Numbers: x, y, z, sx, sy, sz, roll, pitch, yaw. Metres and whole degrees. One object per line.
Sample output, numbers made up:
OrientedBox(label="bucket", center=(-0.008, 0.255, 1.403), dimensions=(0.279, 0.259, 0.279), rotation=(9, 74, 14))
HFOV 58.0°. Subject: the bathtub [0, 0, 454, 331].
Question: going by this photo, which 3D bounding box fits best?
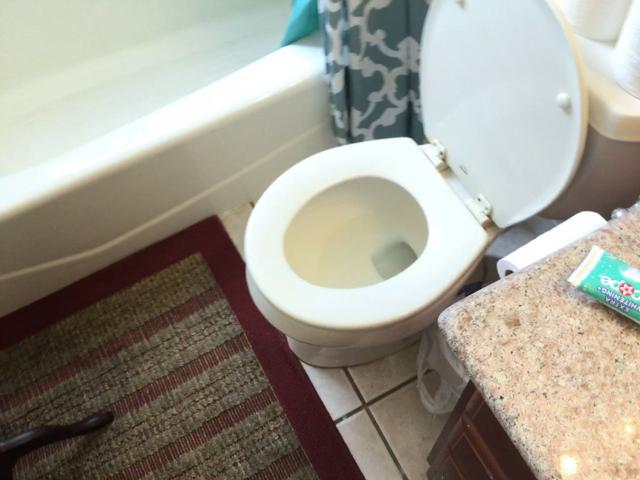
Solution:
OrientedBox(label="bathtub", center=(-0.510, -0.370, 1.460), dimensions=(1.450, 0.360, 0.750), rotation=(-26, 63, -10))
